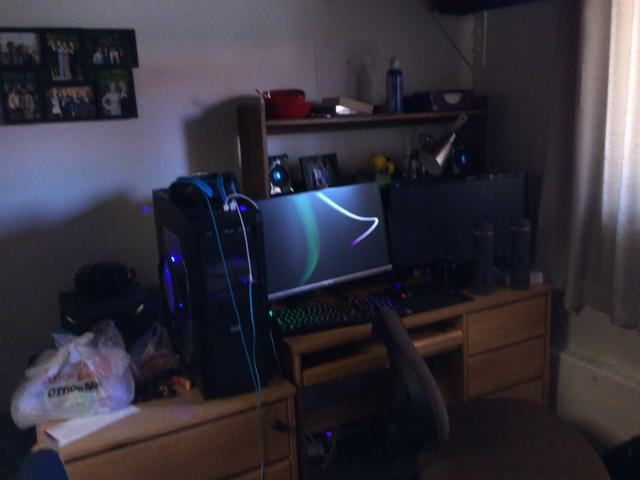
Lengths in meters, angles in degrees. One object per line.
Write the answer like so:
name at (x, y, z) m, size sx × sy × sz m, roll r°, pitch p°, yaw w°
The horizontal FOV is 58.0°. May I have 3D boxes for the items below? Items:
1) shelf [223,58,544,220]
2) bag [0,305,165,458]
shelf at (0.260, -0.380, 2.230) m, size 1.150 × 0.480 × 0.480 m, roll -5°, pitch 12°, yaw -30°
bag at (-0.670, 0.370, 1.620) m, size 0.380 × 0.260 × 0.300 m, roll -5°, pitch 12°, yaw -30°
